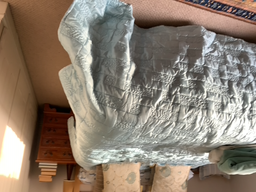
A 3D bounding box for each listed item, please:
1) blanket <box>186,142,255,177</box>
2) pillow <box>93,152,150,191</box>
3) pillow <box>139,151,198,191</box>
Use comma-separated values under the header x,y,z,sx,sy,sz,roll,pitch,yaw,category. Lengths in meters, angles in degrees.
x,y,z,sx,sy,sz,roll,pitch,yaw,category
0.710,0.440,1.410,0.420,0.160,0.480,8,157,-17,blanket
-0.070,0.860,2.200,0.450,0.390,0.170,-14,156,-25,pillow
0.460,0.960,2.400,0.460,0.450,0.160,-30,157,-31,pillow
